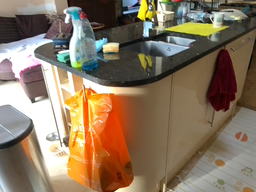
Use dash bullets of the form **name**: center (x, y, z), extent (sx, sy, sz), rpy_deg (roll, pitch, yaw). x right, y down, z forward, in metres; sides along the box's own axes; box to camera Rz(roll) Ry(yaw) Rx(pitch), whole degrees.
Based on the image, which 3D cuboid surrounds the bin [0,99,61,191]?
- **bin**: center (-0.660, 0.430, 1.230), extent (0.380, 0.680, 0.310), rpy_deg (24, 38, 39)

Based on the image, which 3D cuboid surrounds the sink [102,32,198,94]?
- **sink**: center (0.140, -0.250, 1.400), extent (0.470, 0.210, 0.390), rpy_deg (23, 37, 37)

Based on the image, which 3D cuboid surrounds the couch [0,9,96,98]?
- **couch**: center (-1.580, -0.810, 3.370), extent (1.260, 0.840, 1.620), rpy_deg (24, 38, 39)
